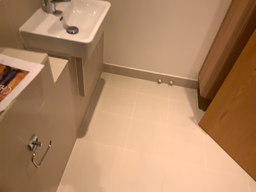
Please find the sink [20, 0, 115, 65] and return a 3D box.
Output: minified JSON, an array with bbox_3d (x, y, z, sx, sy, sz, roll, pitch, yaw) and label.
[{"bbox_3d":[-0.300,-0.410,1.190,0.340,0.130,0.490,12,48,3],"label":"sink"}]
